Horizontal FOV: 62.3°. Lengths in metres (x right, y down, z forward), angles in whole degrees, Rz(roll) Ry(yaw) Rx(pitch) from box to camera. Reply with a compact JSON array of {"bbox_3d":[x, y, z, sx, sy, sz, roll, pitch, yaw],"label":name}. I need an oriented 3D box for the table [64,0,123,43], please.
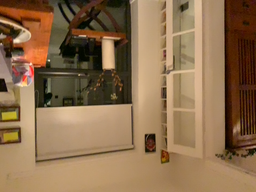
[{"bbox_3d":[-0.400,-0.990,2.380,0.590,0.670,0.450,-1,-178,-15],"label":"table"}]
